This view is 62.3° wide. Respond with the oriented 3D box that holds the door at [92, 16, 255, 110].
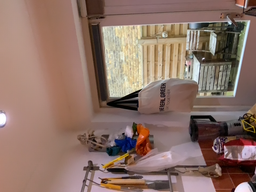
[{"bbox_3d":[0.730,-0.210,1.600,0.060,1.910,0.730,-85,-7,-56],"label":"door"}]
